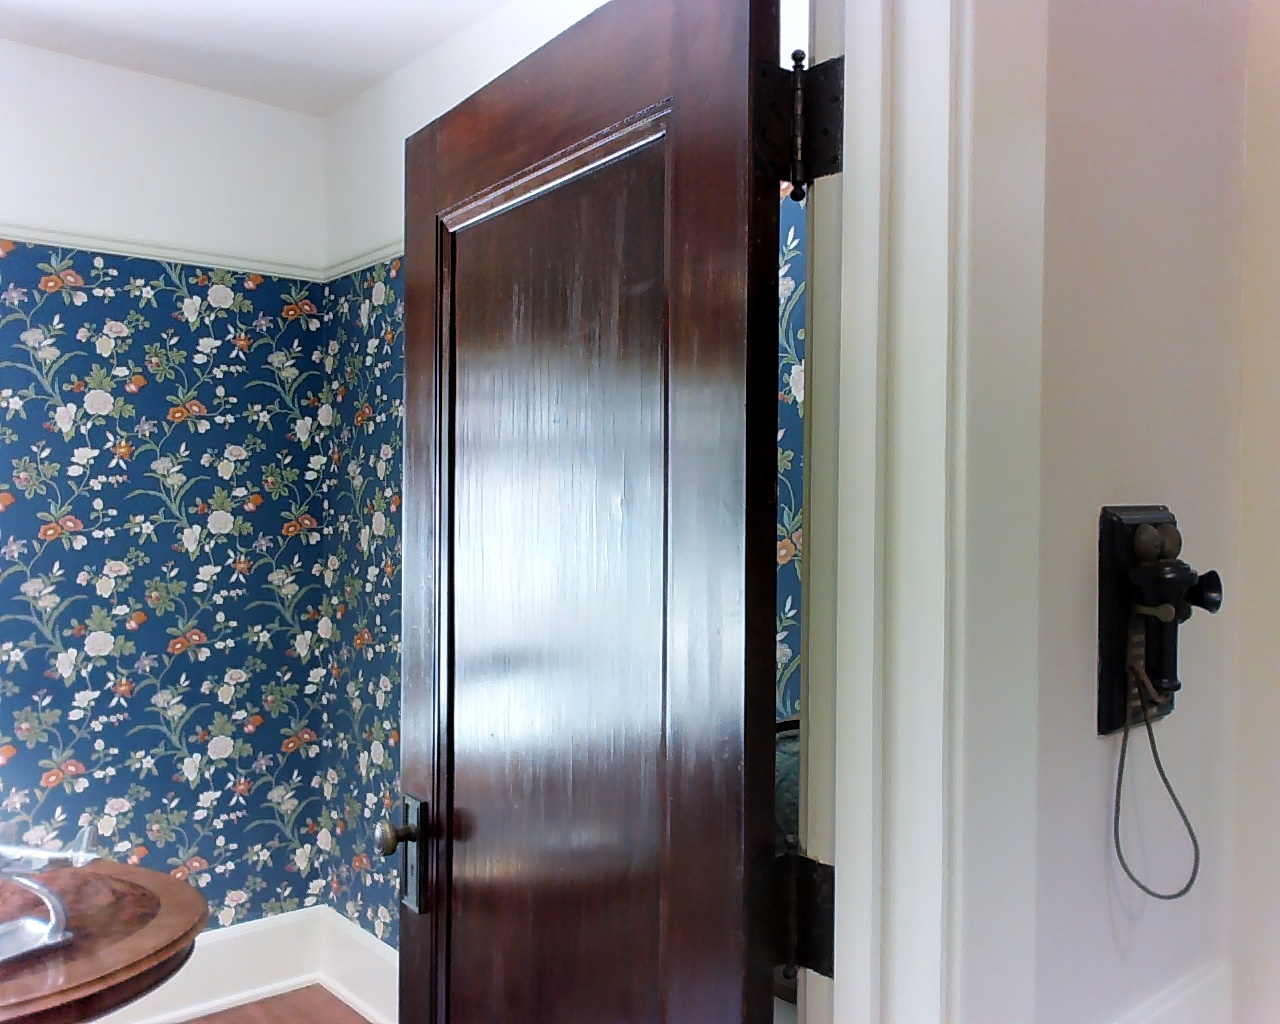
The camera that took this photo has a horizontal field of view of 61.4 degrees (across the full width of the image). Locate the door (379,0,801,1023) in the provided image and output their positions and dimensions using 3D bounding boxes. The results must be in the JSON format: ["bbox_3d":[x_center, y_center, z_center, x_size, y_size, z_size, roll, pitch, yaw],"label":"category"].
[{"bbox_3d":[-0.140,0.430,1.440,0.100,2.190,0.920,0,1,-33],"label":"door"}]
